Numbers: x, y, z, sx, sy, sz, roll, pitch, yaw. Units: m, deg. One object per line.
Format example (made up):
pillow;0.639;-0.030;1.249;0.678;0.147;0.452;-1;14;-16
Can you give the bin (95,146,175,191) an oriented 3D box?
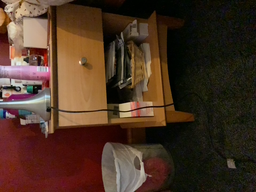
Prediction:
bin;0.020;0.380;1.030;0.280;0.290;0.220;160;108;-67
